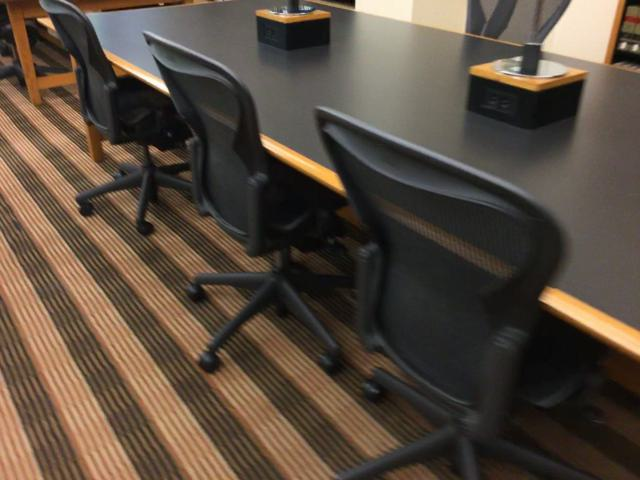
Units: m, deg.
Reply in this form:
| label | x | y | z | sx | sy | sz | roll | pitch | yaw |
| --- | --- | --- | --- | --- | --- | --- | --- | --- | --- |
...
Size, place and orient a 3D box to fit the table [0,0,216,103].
| label | x | y | z | sx | sy | sz | roll | pitch | yaw |
| --- | --- | --- | --- | --- | --- | --- | --- | --- | --- |
| table | -1.750 | -1.720 | 4.460 | 1.470 | 0.780 | 1.090 | -22 | 38 | -32 |

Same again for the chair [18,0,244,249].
| label | x | y | z | sx | sy | sz | roll | pitch | yaw |
| --- | --- | --- | --- | --- | --- | --- | --- | --- | --- |
| chair | -0.810 | -0.610 | 2.580 | 0.650 | 0.980 | 0.620 | -22 | 38 | -32 |
